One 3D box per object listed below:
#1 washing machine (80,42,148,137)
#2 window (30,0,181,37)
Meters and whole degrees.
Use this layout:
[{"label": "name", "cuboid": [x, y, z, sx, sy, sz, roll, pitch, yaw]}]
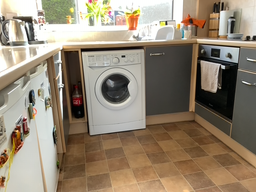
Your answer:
[{"label": "washing machine", "cuboid": [-0.170, -0.130, 2.320, 0.610, 0.850, 0.680, -5, 17, -11]}, {"label": "window", "cuboid": [-0.230, -1.240, 2.540, 1.760, 0.970, 0.180, -5, 17, -9]}]
